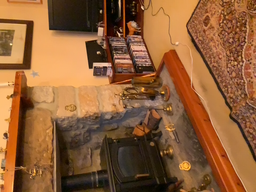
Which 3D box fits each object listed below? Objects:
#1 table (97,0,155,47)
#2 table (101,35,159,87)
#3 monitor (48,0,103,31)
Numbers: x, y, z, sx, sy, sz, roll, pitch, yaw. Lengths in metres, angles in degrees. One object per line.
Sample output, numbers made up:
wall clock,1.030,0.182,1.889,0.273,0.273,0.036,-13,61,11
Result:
table,-0.070,-1.190,2.720,0.770,0.490,0.750,109,153,-49
table,0.000,-0.430,2.510,0.170,0.530,0.690,109,153,-49
monitor,-0.620,-1.220,2.550,0.040,0.640,0.800,-149,58,-70
